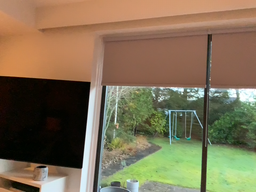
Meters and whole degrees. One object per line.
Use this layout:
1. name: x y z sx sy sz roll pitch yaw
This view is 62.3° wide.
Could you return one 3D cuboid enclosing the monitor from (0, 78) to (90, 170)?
1. monitor: -1.090 0.250 2.210 1.320 0.840 0.080 4 -6 8
